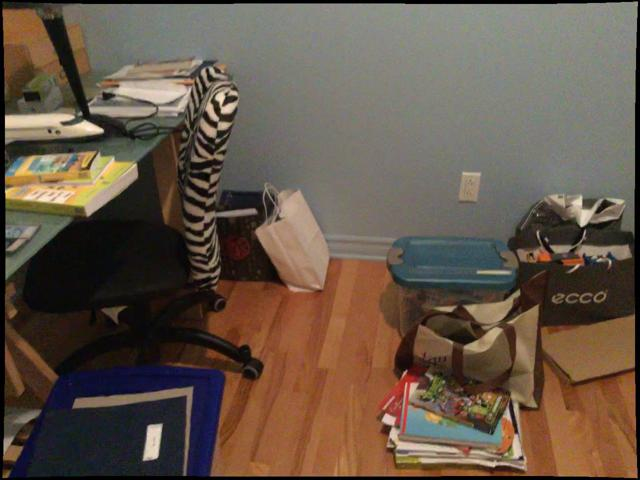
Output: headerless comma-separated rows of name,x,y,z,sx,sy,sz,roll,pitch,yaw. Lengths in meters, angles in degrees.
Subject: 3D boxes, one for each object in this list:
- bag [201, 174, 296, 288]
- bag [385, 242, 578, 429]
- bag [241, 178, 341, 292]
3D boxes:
bag,-0.260,-0.040,2.220,0.270,0.340,0.250,4,33,10
bag,0.440,0.260,1.680,0.460,0.330,0.370,4,33,10
bag,-0.100,-0.020,2.220,0.180,0.310,0.250,-29,22,27
